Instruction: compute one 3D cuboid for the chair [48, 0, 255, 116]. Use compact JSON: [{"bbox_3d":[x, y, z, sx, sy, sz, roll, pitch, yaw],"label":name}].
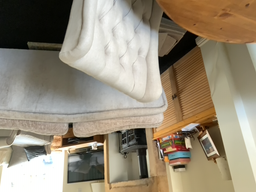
[{"bbox_3d":[0.160,-0.550,0.860,0.680,1.040,0.520,-18,153,30],"label":"chair"}]
